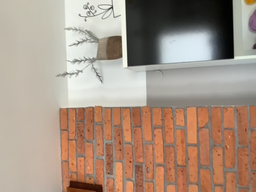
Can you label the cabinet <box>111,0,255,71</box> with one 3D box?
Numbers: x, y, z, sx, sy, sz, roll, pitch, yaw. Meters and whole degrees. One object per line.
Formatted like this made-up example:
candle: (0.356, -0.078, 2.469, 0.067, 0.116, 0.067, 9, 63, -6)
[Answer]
cabinet: (0.570, -0.560, 1.430, 0.310, 1.330, 0.680, -2, -89, -74)
